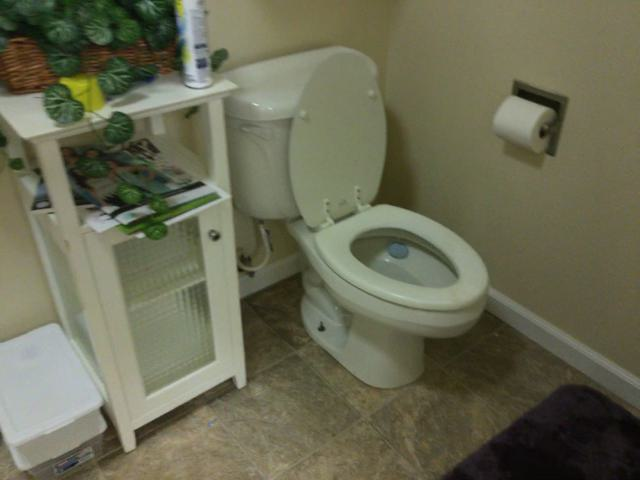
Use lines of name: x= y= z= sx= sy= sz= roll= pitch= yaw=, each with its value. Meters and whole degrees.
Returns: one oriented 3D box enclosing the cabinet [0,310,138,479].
cabinet: x=-0.660 y=0.410 z=1.400 sx=0.250 sy=0.250 sz=0.380 roll=-23 pitch=40 yaw=-34
